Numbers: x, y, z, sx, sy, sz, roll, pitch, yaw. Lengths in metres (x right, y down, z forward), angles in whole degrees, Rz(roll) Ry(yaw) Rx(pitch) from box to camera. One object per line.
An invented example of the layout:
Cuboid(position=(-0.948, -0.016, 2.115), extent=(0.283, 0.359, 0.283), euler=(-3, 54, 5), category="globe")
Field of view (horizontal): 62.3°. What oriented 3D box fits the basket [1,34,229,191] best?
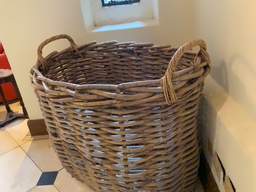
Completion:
Cuboid(position=(-0.090, 0.110, 1.440), extent=(1.150, 0.840, 0.760), euler=(16, 34, 38), category="basket")
